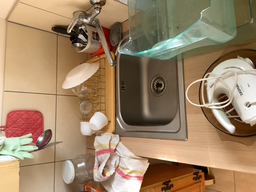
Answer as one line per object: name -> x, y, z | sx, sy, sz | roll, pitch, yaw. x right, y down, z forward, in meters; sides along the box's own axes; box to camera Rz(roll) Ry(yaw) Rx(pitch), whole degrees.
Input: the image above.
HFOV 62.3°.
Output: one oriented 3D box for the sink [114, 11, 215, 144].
sink -> 0.140, -0.050, 0.970 | 0.410, 0.200, 0.480 | -8, 80, 48
